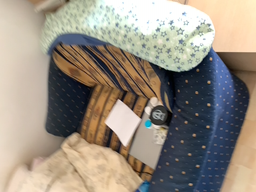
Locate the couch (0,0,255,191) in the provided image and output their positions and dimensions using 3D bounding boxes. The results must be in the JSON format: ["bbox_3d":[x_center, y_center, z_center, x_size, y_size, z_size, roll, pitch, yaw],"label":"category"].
[{"bbox_3d":[-0.080,0.020,1.450,1.450,0.990,1.000,18,88,46],"label":"couch"}]
